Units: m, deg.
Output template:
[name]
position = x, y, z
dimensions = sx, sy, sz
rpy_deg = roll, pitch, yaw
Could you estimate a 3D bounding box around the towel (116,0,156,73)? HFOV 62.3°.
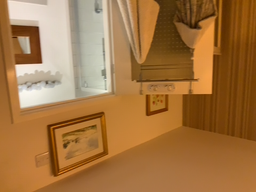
[towel]
position = 0.060, -0.550, 1.520
dimensions = 0.270, 0.750, 0.180
rpy_deg = -1, -169, 4
